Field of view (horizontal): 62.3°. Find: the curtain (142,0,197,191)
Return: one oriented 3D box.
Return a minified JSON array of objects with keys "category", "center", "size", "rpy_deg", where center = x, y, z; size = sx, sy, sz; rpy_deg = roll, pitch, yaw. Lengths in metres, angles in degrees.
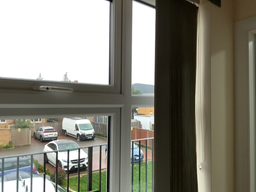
[{"category":"curtain","center":[0.240,0.040,1.220],"size":[0.240,1.240,0.200],"rpy_deg":[2,-2,-37]}]
